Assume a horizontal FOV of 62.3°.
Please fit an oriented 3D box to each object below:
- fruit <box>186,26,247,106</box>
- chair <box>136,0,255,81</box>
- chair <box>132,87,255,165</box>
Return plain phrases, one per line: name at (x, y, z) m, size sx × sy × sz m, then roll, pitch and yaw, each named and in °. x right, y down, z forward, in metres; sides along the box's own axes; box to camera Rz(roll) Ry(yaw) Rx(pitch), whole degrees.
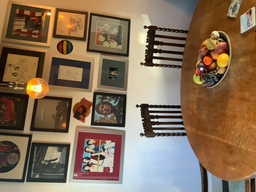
fruit at (0.510, -0.190, 1.290) m, size 0.310 × 0.090 × 0.400 m, roll -109°, pitch 26°, yaw -63°
chair at (0.660, -0.440, 1.910) m, size 0.490 × 1.060 × 0.430 m, roll 151°, pitch 123°, yaw -76°
chair at (0.590, 0.320, 2.130) m, size 0.490 × 0.950 × 0.550 m, roll -99°, pitch 17°, yaw -49°
